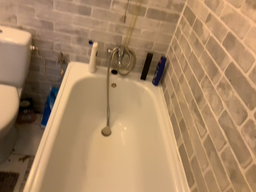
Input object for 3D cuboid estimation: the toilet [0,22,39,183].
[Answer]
[{"bbox_3d":[-0.850,0.030,1.320,0.360,0.750,0.650,8,39,-10],"label":"toilet"}]
